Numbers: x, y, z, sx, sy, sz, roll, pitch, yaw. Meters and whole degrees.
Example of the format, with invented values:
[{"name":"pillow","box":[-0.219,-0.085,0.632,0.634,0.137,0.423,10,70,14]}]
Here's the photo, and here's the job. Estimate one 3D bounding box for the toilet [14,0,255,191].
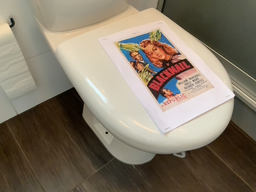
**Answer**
[{"name":"toilet","box":[0.020,-0.120,0.600,0.390,0.780,0.590,-31,63,-27]}]
